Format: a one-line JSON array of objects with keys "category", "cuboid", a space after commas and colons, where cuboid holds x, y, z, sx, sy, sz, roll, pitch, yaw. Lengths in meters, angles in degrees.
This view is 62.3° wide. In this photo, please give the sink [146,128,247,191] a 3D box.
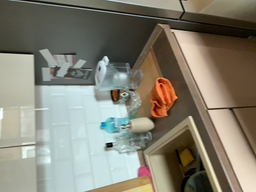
[{"category": "sink", "cuboid": [0.320, 0.440, 1.000, 0.340, 0.240, 0.460, 125, 138, -53]}]
